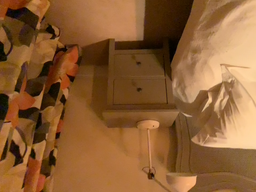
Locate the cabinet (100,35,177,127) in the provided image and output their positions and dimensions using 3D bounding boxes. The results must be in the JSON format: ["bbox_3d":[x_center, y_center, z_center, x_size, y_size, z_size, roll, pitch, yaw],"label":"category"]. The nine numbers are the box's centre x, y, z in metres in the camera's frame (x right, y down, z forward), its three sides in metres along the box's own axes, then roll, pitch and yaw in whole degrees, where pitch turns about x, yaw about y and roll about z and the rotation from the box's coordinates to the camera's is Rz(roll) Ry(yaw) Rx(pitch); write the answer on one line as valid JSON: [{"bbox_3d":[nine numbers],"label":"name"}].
[{"bbox_3d":[0.080,-0.110,1.790,0.530,0.640,0.420,-1,156,2],"label":"cabinet"}]
